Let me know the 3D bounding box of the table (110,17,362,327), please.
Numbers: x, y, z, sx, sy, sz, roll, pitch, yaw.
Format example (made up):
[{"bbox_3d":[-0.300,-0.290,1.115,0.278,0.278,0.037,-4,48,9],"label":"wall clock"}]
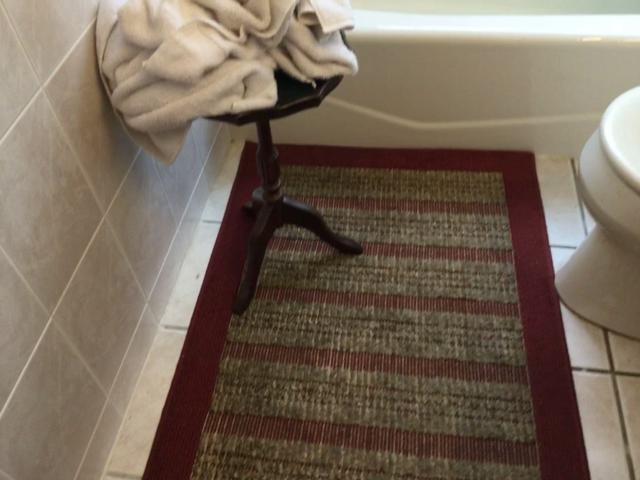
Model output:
[{"bbox_3d":[-0.100,-0.100,1.070,0.330,0.520,0.250,5,51,8],"label":"table"}]

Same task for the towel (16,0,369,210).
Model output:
[{"bbox_3d":[-0.140,-0.280,0.890,0.400,0.320,0.300,5,51,8],"label":"towel"}]
